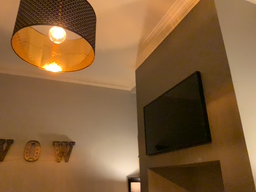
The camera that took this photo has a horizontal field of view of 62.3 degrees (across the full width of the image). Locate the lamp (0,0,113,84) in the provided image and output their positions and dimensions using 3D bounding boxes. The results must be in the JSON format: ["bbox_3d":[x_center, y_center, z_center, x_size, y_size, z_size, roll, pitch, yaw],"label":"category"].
[{"bbox_3d":[-0.630,-0.820,1.860,0.730,1.110,0.750,11,156,-29],"label":"lamp"}]
